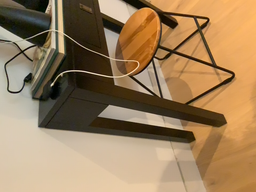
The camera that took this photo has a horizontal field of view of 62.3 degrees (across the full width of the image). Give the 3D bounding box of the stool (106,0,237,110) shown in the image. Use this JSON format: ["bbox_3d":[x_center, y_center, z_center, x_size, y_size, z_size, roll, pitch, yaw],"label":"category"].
[{"bbox_3d":[0.200,-0.220,1.110,0.390,0.450,0.400,-38,50,41],"label":"stool"}]
